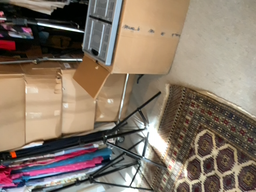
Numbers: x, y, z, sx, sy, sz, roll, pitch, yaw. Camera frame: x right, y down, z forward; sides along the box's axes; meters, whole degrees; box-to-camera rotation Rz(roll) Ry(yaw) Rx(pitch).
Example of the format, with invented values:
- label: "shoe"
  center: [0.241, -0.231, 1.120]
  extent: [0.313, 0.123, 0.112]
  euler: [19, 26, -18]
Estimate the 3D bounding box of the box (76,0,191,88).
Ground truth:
- label: "box"
  center: [0.010, -0.440, 1.510]
  extent: [0.410, 0.550, 0.600]
  euler: [43, 128, 42]
